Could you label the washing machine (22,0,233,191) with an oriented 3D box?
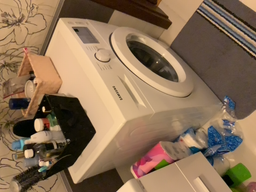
[{"bbox_3d":[0.000,0.000,1.250,0.630,0.850,0.650,-53,58,30],"label":"washing machine"}]
